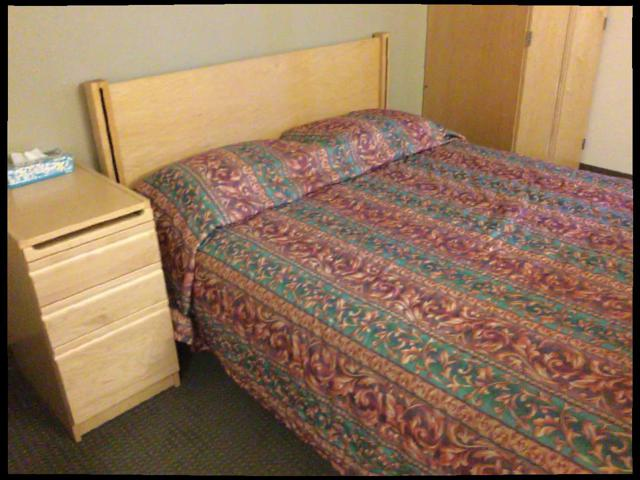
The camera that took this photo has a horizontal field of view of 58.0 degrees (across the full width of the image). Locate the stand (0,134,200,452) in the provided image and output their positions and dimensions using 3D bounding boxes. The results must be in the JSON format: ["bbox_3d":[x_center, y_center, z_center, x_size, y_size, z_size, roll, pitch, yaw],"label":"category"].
[{"bbox_3d":[-0.838,0.140,2.010,0.500,0.811,0.600,-22,34,-34],"label":"stand"}]

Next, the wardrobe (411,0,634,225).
[{"bbox_3d":[1.188,-1.192,3.340,1.049,1.853,0.700,-22,34,-34],"label":"wardrobe"}]
